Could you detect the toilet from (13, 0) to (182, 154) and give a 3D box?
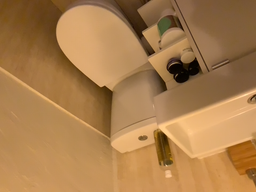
[{"bbox_3d":[-0.100,-0.220,1.140,0.380,0.790,0.640,-26,136,22],"label":"toilet"}]
